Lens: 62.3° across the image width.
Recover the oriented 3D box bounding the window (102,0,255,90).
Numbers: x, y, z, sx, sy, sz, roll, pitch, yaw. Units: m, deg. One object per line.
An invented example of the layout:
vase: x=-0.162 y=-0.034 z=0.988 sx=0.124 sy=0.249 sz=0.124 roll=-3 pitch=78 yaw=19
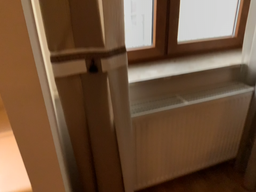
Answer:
window: x=0.440 y=-0.920 z=1.340 sx=1.190 sy=1.550 sz=0.360 roll=-12 pitch=29 yaw=-19
